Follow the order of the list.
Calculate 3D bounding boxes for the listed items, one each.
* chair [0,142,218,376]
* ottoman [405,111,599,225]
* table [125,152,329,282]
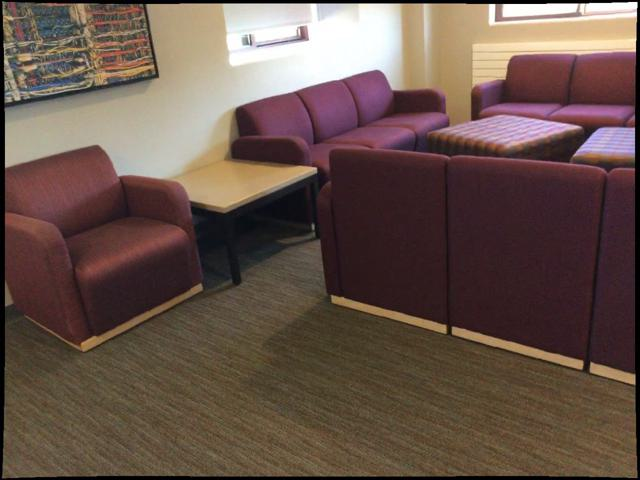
[{"bbox_3d":[-1.107,0.020,2.880,0.759,0.802,0.789,14,28,38],"label":"chair"},{"bbox_3d":[1.277,-0.561,4.060,0.969,0.471,0.989,14,28,37],"label":"ottoman"},{"bbox_3d":[-0.539,-0.190,3.490,0.799,0.421,0.869,14,28,37],"label":"table"}]
